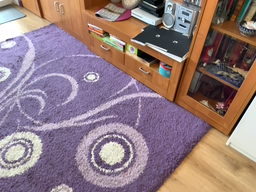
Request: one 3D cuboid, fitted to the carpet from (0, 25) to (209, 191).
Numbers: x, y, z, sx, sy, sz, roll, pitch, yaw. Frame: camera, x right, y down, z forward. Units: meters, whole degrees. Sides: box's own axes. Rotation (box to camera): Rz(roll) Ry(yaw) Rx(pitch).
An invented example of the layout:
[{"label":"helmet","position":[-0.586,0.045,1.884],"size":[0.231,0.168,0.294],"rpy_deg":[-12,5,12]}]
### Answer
[{"label":"carpet","position":[-0.740,0.080,1.780],"size":[2.280,0.090,1.550],"rpy_deg":[36,53,29]}]
